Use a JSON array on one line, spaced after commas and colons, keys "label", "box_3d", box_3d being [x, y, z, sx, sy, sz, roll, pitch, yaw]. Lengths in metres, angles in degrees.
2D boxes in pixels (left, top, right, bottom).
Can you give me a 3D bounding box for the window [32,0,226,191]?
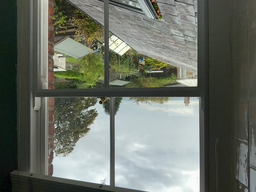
[{"label": "window", "box_3d": [-0.070, -0.060, 1.130, 1.060, 1.210, 0.080, -1, 180, 22]}]
